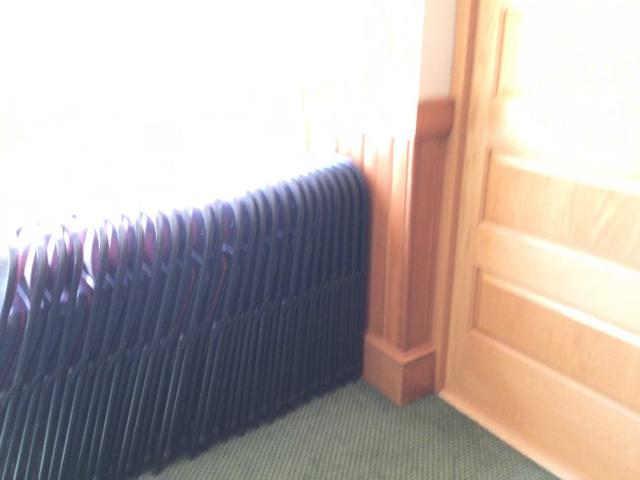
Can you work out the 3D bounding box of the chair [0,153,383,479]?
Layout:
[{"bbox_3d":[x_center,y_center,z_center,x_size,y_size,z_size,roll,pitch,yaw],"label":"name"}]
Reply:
[{"bbox_3d":[-0.470,0.280,2.010,1.460,0.880,0.390,-17,23,-32],"label":"chair"}]
